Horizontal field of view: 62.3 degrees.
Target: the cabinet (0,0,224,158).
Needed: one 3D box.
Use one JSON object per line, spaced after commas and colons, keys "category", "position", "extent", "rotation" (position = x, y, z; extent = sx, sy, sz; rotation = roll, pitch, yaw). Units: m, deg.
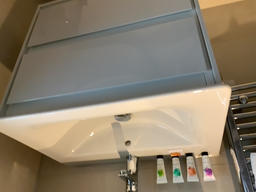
{"category": "cabinet", "position": [-0.030, -0.100, 0.860], "extent": [0.620, 0.530, 0.460], "rotation": [-8, 146, 13]}
